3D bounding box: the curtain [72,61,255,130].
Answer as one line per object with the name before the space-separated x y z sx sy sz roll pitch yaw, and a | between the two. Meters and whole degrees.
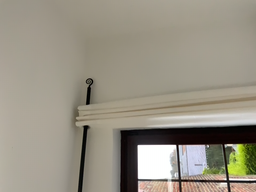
curtain | 0.510 0.000 1.330 0.140 1.780 0.360 54 -145 -66
